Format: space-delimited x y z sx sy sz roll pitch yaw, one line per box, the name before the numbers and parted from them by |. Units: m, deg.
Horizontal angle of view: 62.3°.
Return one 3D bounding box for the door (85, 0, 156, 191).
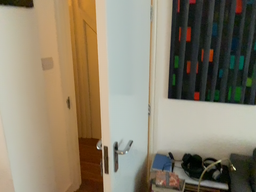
door | 0.020 0.240 1.420 0.090 2.030 0.860 5 17 19
